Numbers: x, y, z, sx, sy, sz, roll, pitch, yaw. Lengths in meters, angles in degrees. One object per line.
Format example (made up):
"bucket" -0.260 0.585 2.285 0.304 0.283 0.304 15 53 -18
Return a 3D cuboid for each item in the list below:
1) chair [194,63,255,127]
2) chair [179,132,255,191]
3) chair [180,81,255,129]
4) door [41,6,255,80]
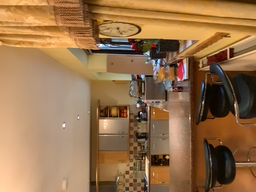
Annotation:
"chair" 1.090 -0.020 1.750 0.420 0.940 0.460 -121 32 -85
"chair" 1.060 0.640 2.130 0.450 0.940 0.410 -102 13 -77
"chair" 1.060 0.080 2.190 0.390 0.940 0.450 -148 59 -87
"door" 0.480 -0.450 3.150 3.770 2.150 0.070 169 101 -87
